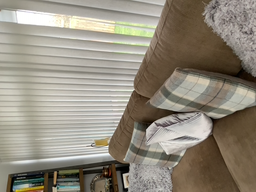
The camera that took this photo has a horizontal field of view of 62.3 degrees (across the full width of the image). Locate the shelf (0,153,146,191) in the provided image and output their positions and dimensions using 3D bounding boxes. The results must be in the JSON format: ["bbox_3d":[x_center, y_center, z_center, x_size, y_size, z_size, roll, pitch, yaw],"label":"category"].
[{"bbox_3d":[-0.530,1.360,2.290,0.390,1.530,1.260,113,150,-48],"label":"shelf"}]

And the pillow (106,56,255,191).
[{"bbox_3d":[0.230,0.430,1.500,1.370,0.450,0.540,114,150,-49],"label":"pillow"}]
